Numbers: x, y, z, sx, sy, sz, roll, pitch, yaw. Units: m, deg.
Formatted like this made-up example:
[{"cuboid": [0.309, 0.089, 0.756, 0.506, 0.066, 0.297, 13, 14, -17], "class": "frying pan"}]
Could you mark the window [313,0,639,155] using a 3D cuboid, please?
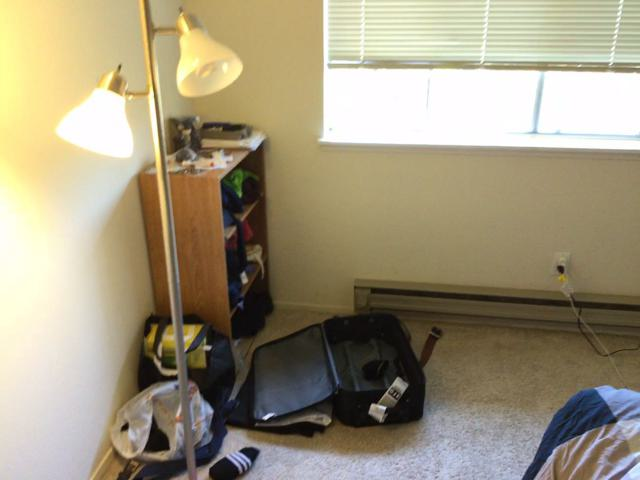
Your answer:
[{"cuboid": [0.860, -0.940, 2.140, 1.750, 1.200, 0.310, 2, 24, 11], "class": "window"}]

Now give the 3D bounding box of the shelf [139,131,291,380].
[{"cuboid": [-0.400, 0.040, 2.510, 0.350, 0.890, 0.620, 2, 24, 11], "class": "shelf"}]

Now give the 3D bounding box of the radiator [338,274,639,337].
[{"cuboid": [0.900, 0.300, 2.640, 1.630, 0.200, 0.100, 2, 24, 11], "class": "radiator"}]
